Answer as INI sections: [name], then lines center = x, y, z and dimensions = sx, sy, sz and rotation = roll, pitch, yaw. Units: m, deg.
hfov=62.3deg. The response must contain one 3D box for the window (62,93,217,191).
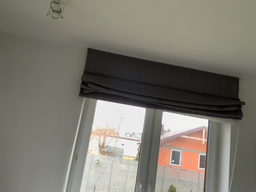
[window]
center = 0.110, 0.880, 2.280
dimensions = 1.450, 1.550, 0.440
rotation = 9, -13, -2
